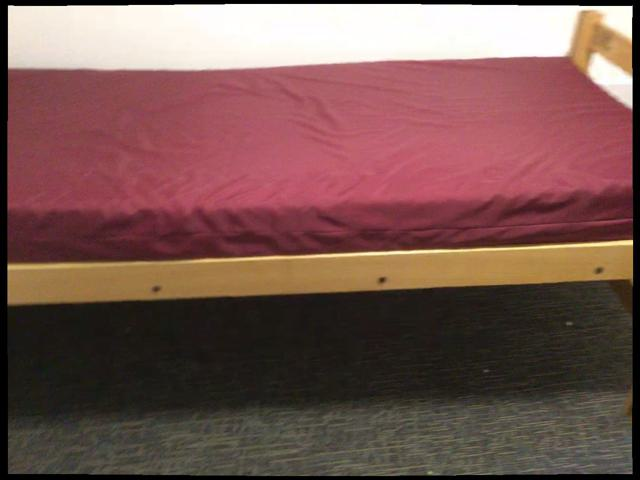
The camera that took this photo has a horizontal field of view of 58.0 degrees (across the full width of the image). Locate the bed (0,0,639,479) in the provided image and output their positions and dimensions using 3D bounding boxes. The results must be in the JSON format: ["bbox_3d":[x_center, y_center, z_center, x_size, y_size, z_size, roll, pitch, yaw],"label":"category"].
[{"bbox_3d":[-0.030,-0.100,1.820,2.535,0.961,1.151,-4,36,-4],"label":"bed"}]
